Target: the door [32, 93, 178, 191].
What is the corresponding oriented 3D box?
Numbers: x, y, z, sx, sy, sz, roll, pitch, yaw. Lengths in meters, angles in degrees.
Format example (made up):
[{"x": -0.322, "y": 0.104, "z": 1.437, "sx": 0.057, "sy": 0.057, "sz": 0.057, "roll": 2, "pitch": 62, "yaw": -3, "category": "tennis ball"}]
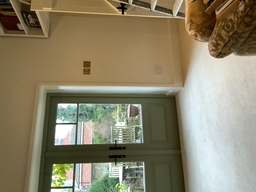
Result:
[{"x": -0.290, "y": 0.820, "z": 3.010, "sx": 0.100, "sy": 1.920, "sz": 1.780, "roll": 113, "pitch": 156, "yaw": -70, "category": "door"}]
